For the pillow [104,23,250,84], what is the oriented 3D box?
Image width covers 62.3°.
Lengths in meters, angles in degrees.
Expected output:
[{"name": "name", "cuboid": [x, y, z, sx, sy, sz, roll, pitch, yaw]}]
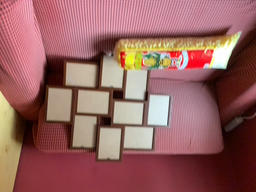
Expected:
[{"name": "pillow", "cuboid": [0.220, -0.200, 1.090, 0.670, 0.130, 0.260, 2, 150, -8]}]

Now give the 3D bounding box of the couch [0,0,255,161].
[{"name": "couch", "cuboid": [0.080, -0.160, 1.250, 1.450, 0.830, 1.030, 2, 150, -8]}]
